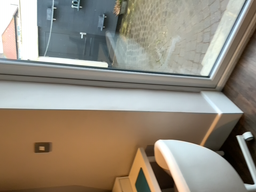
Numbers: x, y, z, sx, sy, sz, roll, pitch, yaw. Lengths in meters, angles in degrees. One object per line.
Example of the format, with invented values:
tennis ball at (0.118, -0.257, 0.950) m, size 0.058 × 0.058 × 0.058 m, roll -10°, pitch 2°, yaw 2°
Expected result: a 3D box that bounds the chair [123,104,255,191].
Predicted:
chair at (0.510, 0.540, 1.190) m, size 0.710 × 0.810 × 0.680 m, roll -112°, pitch 31°, yaw -49°
